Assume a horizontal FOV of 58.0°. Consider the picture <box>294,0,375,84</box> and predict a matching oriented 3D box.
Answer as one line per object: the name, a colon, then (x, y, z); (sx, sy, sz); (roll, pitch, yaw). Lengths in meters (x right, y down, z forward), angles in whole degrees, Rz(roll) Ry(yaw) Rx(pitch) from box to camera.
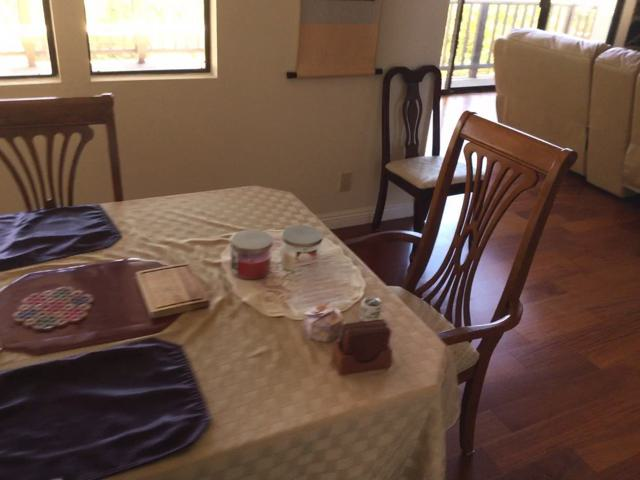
picture: (0.080, -1.400, 2.590); (0.410, 1.350, 0.040); (-12, 32, -23)
